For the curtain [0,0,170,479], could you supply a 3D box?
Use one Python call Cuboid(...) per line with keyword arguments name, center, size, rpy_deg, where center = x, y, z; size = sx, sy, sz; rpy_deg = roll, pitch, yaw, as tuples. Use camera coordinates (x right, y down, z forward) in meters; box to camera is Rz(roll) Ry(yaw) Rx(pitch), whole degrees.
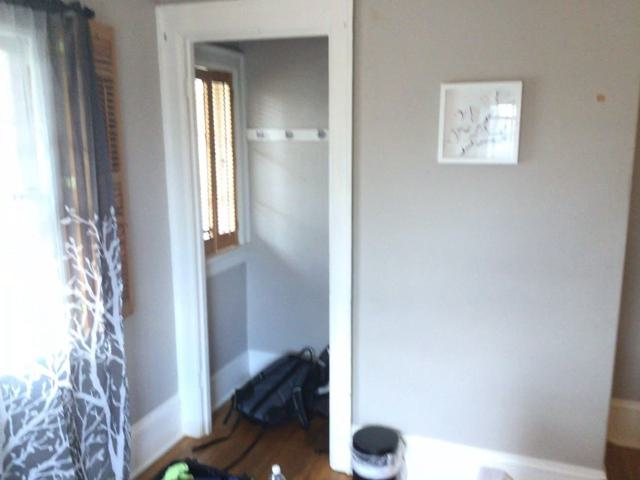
Cuboid(name="curtain", center=(-1.070, 0.230, 1.730), size=(0.250, 2.040, 1.470), rpy_deg=(2, 10, 21))
